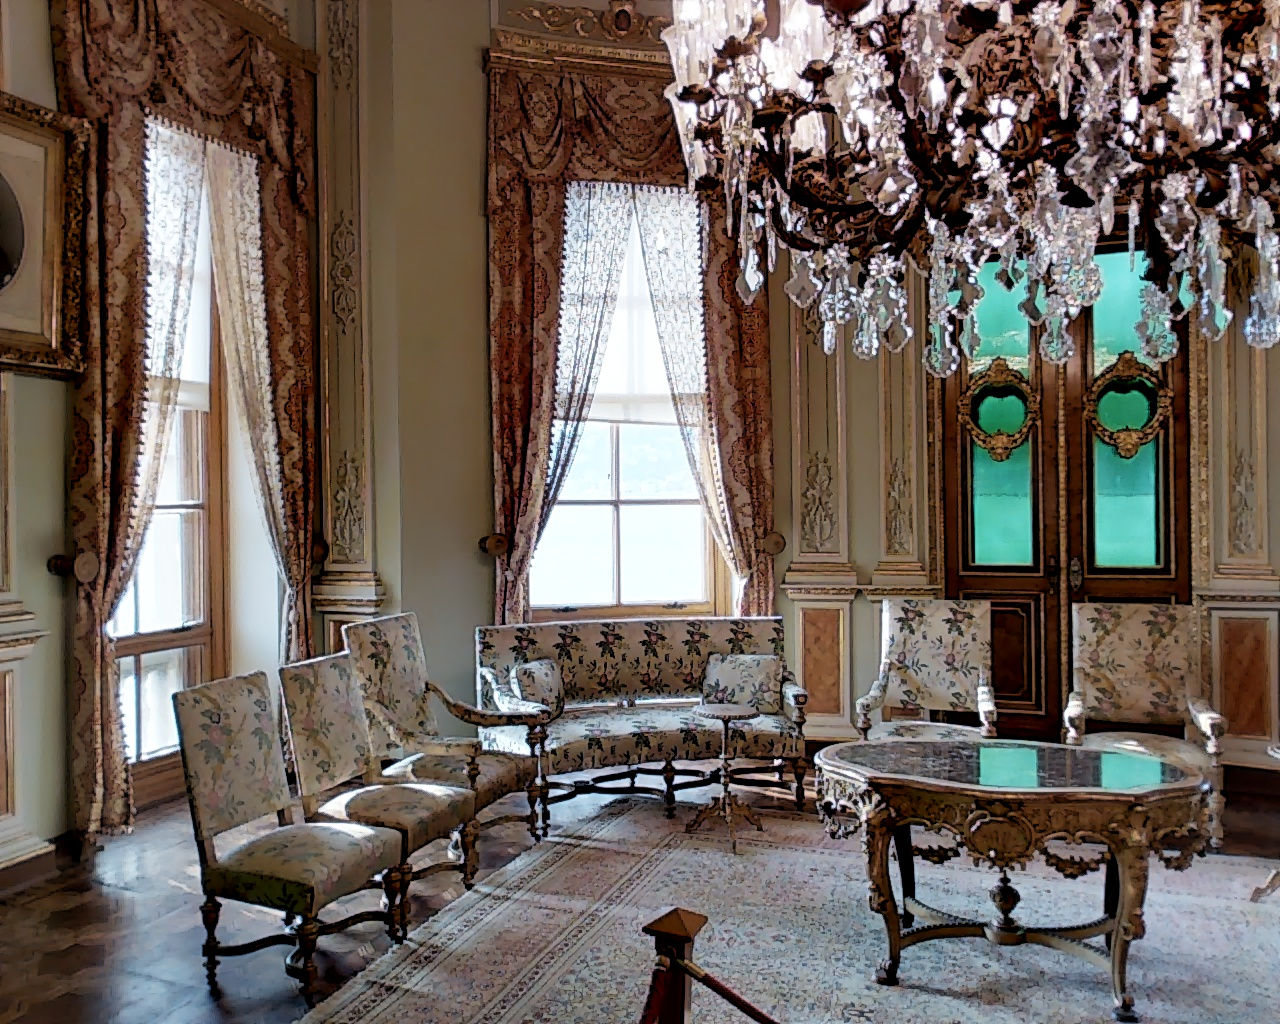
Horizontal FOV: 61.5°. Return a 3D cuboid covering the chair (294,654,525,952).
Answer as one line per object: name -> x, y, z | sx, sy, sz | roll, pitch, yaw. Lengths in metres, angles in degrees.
chair -> -0.980, 1.201, 4.680 | 0.680, 1.050, 0.730 | -1, 0, 21

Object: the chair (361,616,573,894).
chair -> -0.830, 1.131, 5.260 | 0.790, 1.161, 0.650 | -1, 0, 21

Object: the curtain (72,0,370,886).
curtain -> -2.159, -0.740, 5.840 | 0.200, 4.882, 1.950 | -1, 0, 21

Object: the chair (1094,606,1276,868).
chair -> 2.769, 1.100, 5.550 | 0.750, 1.141, 0.810 | -1, 0, 21

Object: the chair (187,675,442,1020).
chair -> -1.209, 1.201, 4.060 | 0.670, 1.050, 0.620 | -1, 0, 21

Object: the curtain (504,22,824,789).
curtain -> 0.180, -0.660, 6.870 | 2.029, 4.682, 0.130 | -1, 0, -14

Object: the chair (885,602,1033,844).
chair -> 1.789, 1.120, 5.980 | 0.720, 1.161, 0.750 | -1, 0, 21

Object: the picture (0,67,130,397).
picture -> -2.699, -1.201, 4.630 | 0.200, 1.301, 1.040 | -1, 0, 21
